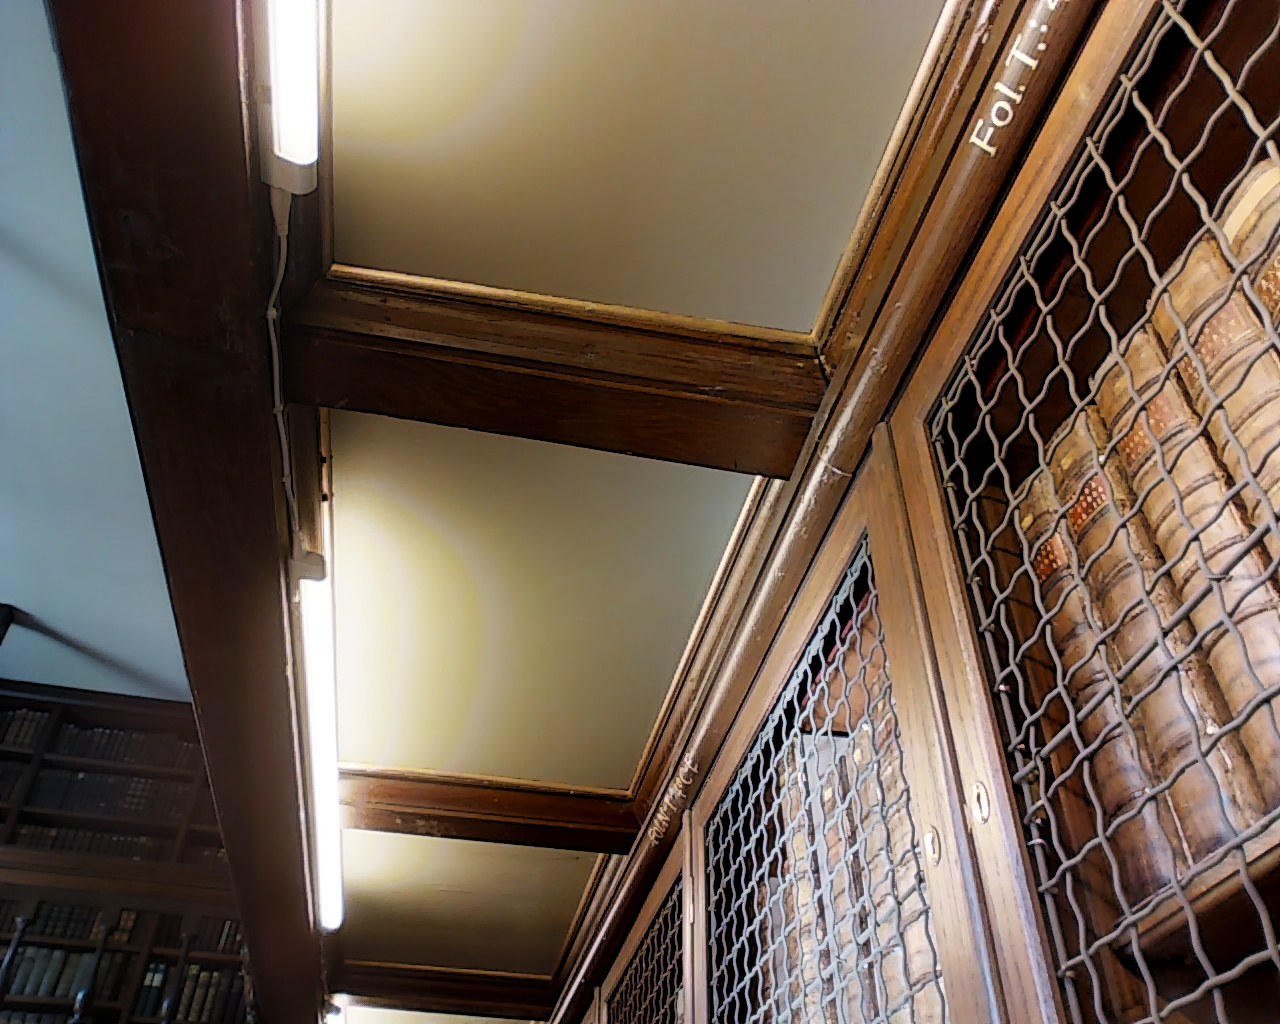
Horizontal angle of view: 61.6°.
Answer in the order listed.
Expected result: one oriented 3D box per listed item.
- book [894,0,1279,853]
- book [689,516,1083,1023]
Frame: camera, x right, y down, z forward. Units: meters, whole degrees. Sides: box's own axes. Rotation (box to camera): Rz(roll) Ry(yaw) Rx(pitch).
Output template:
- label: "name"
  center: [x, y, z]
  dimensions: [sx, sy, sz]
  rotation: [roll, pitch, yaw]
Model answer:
- label: "book"
  center: [0.360, -0.130, 0.570]
  dimensions: [0.140, 0.370, 0.620]
  rotation: [11, -42, -11]
- label: "book"
  center: [0.190, 0.390, 1.140]
  dimensions: [0.120, 0.380, 0.730]
  rotation: [8, -42, -7]
